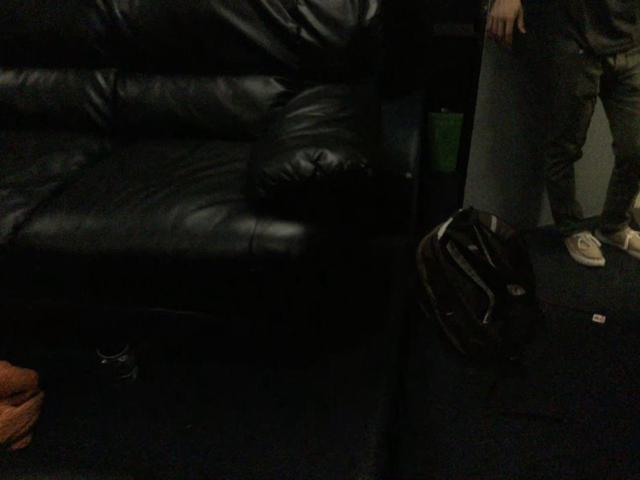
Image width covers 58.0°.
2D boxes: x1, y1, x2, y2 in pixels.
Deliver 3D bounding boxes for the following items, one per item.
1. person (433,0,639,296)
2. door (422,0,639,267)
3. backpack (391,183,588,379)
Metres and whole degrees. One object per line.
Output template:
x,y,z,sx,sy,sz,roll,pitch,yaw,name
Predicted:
0.880,-0.680,1.990,0.750,1.610,0.560,7,28,7,person
0.780,-0.880,1.990,0.590,2.000,0.290,7,28,7,door
0.520,0.110,1.920,0.500,0.400,0.480,7,28,7,backpack
